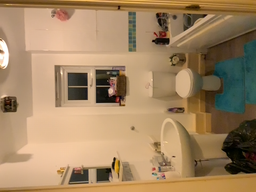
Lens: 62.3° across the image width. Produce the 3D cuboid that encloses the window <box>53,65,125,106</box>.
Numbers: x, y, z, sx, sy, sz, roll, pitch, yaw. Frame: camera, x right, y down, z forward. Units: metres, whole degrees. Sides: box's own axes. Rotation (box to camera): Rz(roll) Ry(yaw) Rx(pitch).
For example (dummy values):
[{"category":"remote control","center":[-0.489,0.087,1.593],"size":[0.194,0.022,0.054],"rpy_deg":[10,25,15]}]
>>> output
[{"category":"window","center":[-0.550,-0.150,3.080],"size":[0.050,1.010,0.570],"rpy_deg":[-158,68,-82]}]
